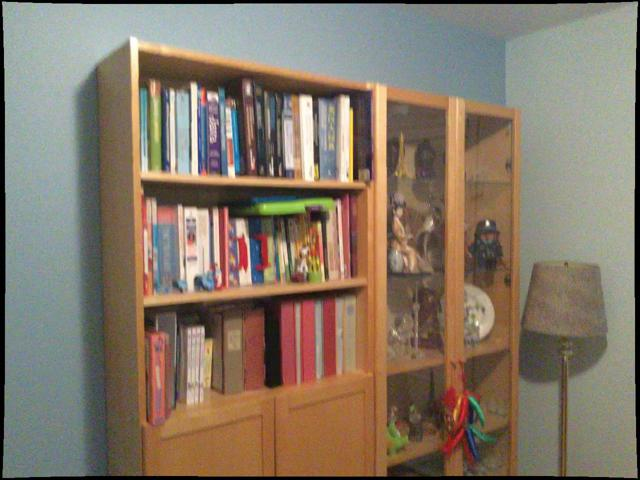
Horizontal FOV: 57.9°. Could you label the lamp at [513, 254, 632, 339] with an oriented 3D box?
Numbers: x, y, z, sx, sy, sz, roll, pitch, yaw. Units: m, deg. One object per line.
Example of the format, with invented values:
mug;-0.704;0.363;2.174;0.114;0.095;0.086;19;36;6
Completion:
lamp;1.009;0.210;2.320;0.330;0.270;0.310;-3;5;-36
